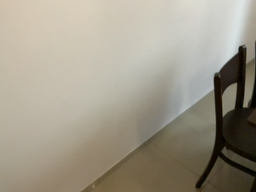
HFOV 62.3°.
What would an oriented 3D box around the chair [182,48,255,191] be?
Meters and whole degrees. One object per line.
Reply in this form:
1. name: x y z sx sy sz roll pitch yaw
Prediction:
1. chair: 0.610 0.220 1.120 0.420 0.760 0.440 26 45 37
